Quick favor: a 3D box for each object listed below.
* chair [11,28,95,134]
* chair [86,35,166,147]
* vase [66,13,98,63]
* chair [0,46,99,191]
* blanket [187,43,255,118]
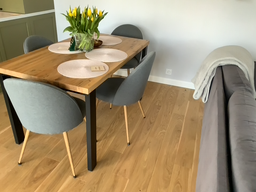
[{"bbox_3d":[-0.700,-0.170,2.170,0.520,0.870,0.510,14,30,17],"label":"chair"},{"bbox_3d":[-0.020,-0.070,2.080,0.550,0.870,0.510,14,30,17],"label":"chair"},{"bbox_3d":[-0.390,-0.510,1.850,0.150,0.360,0.240,14,31,17],"label":"vase"},{"bbox_3d":[-0.570,0.170,1.560,0.510,0.870,0.540,14,30,17],"label":"chair"},{"bbox_3d":[0.950,-0.180,2.080,0.570,0.480,0.490,14,30,17],"label":"blanket"}]
